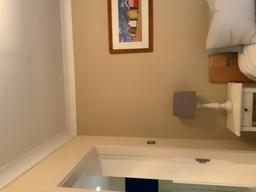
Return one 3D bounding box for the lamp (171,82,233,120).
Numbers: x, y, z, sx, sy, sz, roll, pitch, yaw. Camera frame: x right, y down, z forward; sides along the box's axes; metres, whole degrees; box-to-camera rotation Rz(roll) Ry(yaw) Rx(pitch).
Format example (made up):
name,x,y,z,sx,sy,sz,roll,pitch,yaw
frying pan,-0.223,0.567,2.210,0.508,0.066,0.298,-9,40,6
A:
name,x,y,z,sx,sy,sz,roll,pitch,yaw
lamp,0.700,0.040,2.080,0.250,0.530,0.330,-39,-51,-79
